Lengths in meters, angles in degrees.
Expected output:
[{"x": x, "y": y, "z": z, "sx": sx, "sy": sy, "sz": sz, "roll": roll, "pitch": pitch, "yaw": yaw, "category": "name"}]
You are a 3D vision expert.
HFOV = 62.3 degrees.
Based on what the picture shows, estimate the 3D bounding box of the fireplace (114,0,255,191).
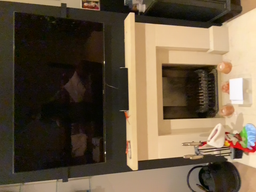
[{"x": 0.490, "y": -0.050, "z": 1.790, "sx": 0.800, "sy": 1.040, "sz": 1.270, "roll": 172, "pitch": 97, "yaw": -73, "category": "fireplace"}]

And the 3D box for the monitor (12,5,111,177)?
[{"x": -0.450, "y": -0.040, "z": 1.480, "sx": 0.050, "sy": 0.640, "sz": 1.110, "roll": 172, "pitch": 97, "yaw": -73, "category": "monitor"}]
